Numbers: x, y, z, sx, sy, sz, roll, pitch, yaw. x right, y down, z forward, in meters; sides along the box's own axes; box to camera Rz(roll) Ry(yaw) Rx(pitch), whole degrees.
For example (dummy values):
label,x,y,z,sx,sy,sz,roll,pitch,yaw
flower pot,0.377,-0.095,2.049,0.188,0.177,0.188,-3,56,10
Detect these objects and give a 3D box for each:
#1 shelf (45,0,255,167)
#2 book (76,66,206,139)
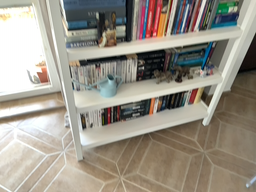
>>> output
label,x,y,z,sx,sy,sz,roll,pitch,yaw
shelf,0.140,-0.210,1.530,1.210,1.380,0.400,-12,44,-18
book,0.100,0.030,1.740,0.960,0.320,0.300,-10,43,-16
